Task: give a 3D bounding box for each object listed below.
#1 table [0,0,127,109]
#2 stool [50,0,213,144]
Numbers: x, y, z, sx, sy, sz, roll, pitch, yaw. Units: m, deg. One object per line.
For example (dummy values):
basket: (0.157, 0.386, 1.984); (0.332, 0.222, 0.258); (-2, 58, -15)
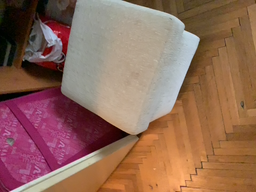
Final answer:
table: (-0.510, -0.460, 1.040); (0.530, 0.780, 0.870); (41, 116, 23)
stool: (0.020, -0.150, 0.910); (0.430, 0.440, 0.430); (27, 111, 28)
